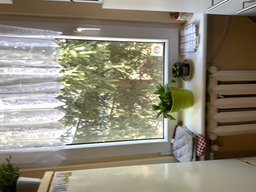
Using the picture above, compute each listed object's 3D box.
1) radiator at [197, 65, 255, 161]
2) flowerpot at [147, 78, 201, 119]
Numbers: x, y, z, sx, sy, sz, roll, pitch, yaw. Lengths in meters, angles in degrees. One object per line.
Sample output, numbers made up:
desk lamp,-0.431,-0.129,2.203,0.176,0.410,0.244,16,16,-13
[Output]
radiator,0.790,0.090,1.360,0.190,0.630,0.550,-153,63,-76
flowerpot,0.270,0.010,1.300,0.210,0.260,0.230,-172,81,-77
